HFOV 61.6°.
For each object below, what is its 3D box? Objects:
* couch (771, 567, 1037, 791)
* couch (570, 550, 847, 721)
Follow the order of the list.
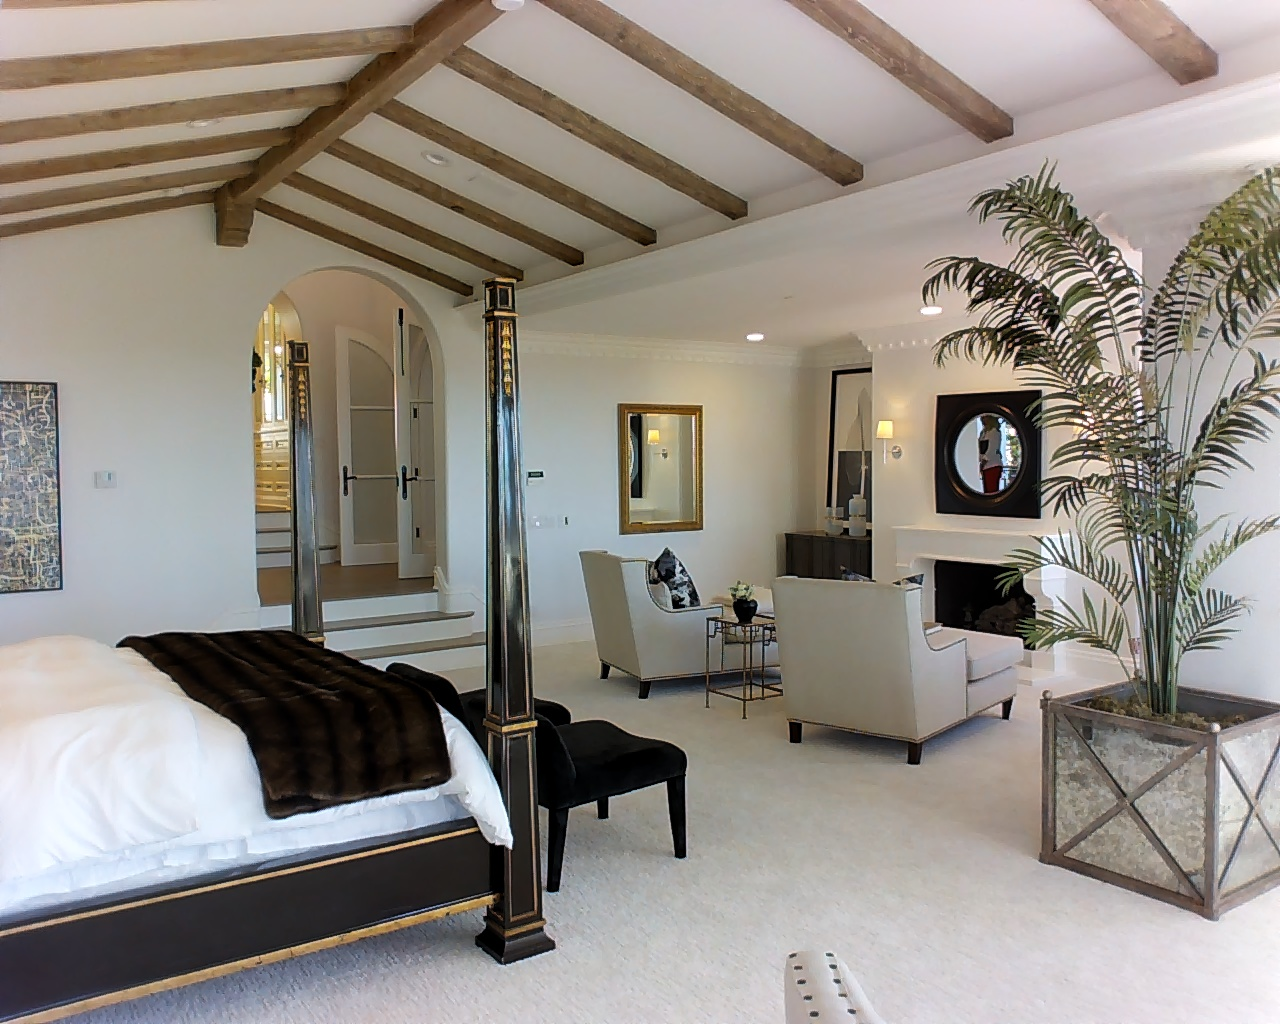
[{"bbox_3d":[1.580,0.880,6.250,0.890,0.950,1.630,1,3,39],"label":"couch"},{"bbox_3d":[0.500,0.820,7.750,1.670,0.950,1.100,-2,3,-34],"label":"couch"}]
